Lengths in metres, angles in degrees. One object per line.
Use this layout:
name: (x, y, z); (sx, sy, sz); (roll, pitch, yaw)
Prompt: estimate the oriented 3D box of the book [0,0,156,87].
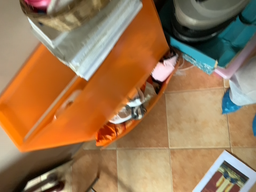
book: (-0.140, -0.220, 0.470); (0.260, 0.210, 0.270); (40, 95, 17)
